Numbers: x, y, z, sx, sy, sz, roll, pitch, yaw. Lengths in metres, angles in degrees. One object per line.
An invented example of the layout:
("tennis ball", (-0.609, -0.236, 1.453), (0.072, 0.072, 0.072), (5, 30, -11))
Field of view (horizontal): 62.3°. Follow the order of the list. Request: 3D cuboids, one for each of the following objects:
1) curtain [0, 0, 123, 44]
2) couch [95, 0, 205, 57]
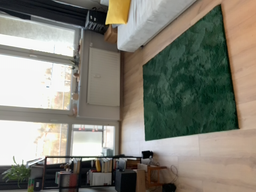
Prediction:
("curtain", (-1.230, -1.380, 3.760), (0.370, 2.310, 0.310), (147, 125, -60))
("couch", (0.230, -1.410, 2.840), (2.360, 0.650, 0.960), (160, 114, -63))
